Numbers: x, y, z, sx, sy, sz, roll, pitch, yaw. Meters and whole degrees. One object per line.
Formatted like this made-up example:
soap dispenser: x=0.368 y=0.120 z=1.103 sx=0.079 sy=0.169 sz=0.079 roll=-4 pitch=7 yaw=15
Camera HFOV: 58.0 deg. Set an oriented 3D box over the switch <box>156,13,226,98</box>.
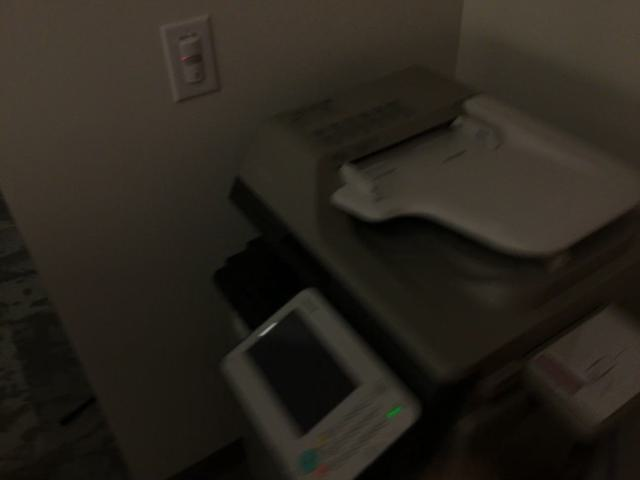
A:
switch: x=-0.200 y=-0.290 z=0.910 sx=0.090 sy=0.110 sz=0.020 roll=-23 pitch=45 yaw=-23
